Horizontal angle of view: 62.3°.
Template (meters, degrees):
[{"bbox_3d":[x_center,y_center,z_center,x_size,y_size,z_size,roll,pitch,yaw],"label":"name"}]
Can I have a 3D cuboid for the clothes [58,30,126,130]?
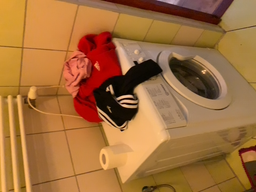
[{"bbox_3d":[-0.210,-0.060,1.090,0.220,0.170,0.470,62,139,34],"label":"clothes"}]
